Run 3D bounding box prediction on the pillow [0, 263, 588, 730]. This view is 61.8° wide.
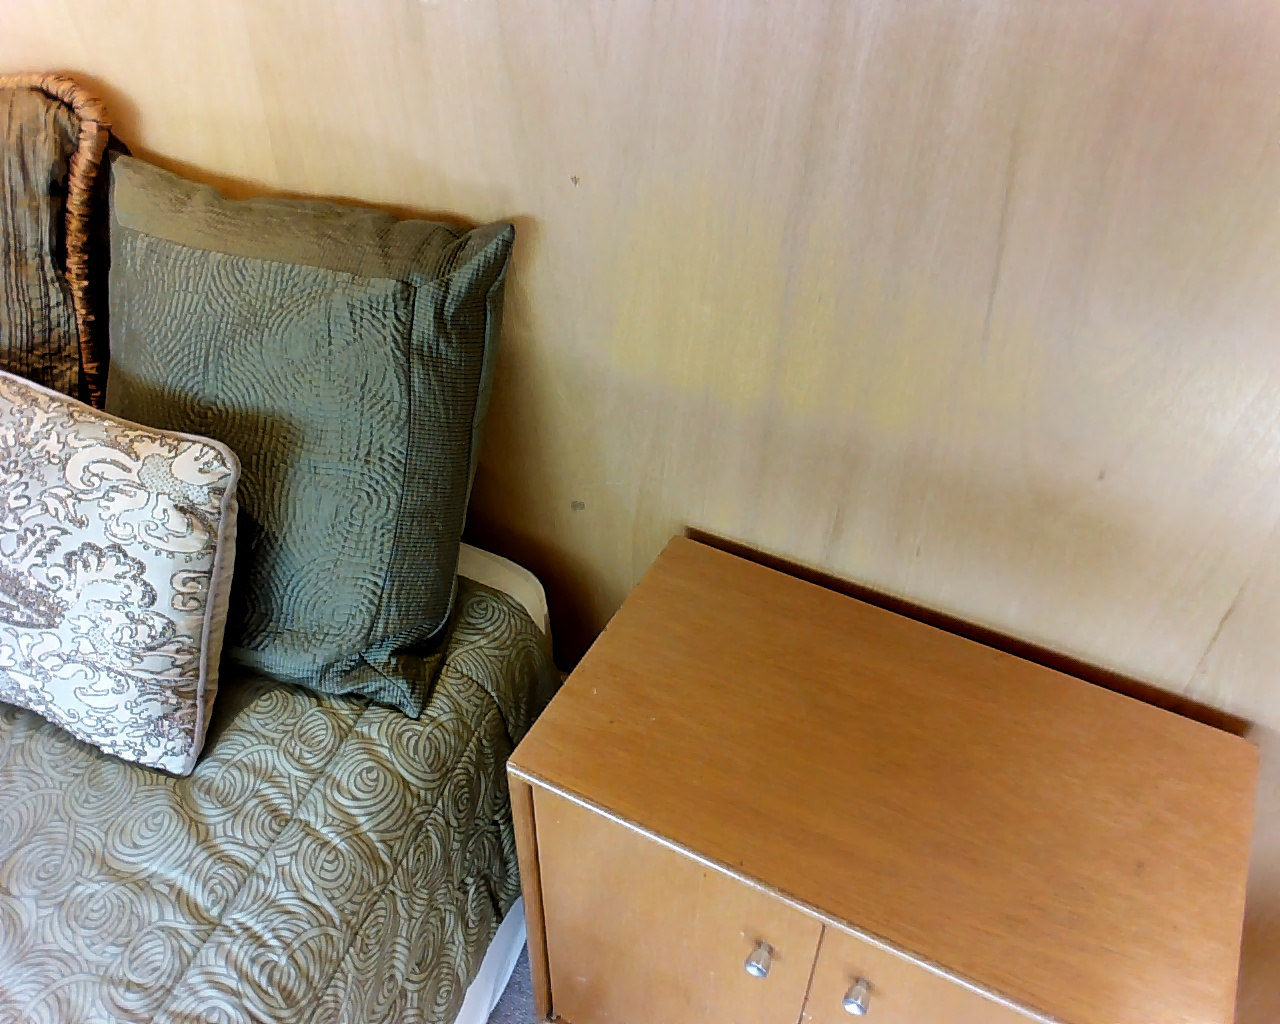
[{"bbox_3d":[-0.450,-0.050,1.400,0.650,0.280,0.410,14,42,15],"label":"pillow"}]

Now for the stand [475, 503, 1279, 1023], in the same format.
[{"bbox_3d":[0.270,0.510,1.370,0.760,0.720,0.470,18,44,19],"label":"stand"}]

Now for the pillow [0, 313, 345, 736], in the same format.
[{"bbox_3d":[-0.680,0.050,1.260,0.480,0.420,0.190,-10,36,36],"label":"pillow"}]
